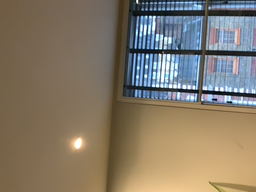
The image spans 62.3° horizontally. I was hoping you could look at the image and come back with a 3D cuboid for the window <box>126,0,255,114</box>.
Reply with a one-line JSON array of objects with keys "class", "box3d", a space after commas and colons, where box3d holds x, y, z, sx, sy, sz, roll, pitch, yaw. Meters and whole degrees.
[{"class": "window", "box3d": [0.740, -0.370, 1.880, 0.080, 1.470, 0.980, -8, -78, -77]}]
